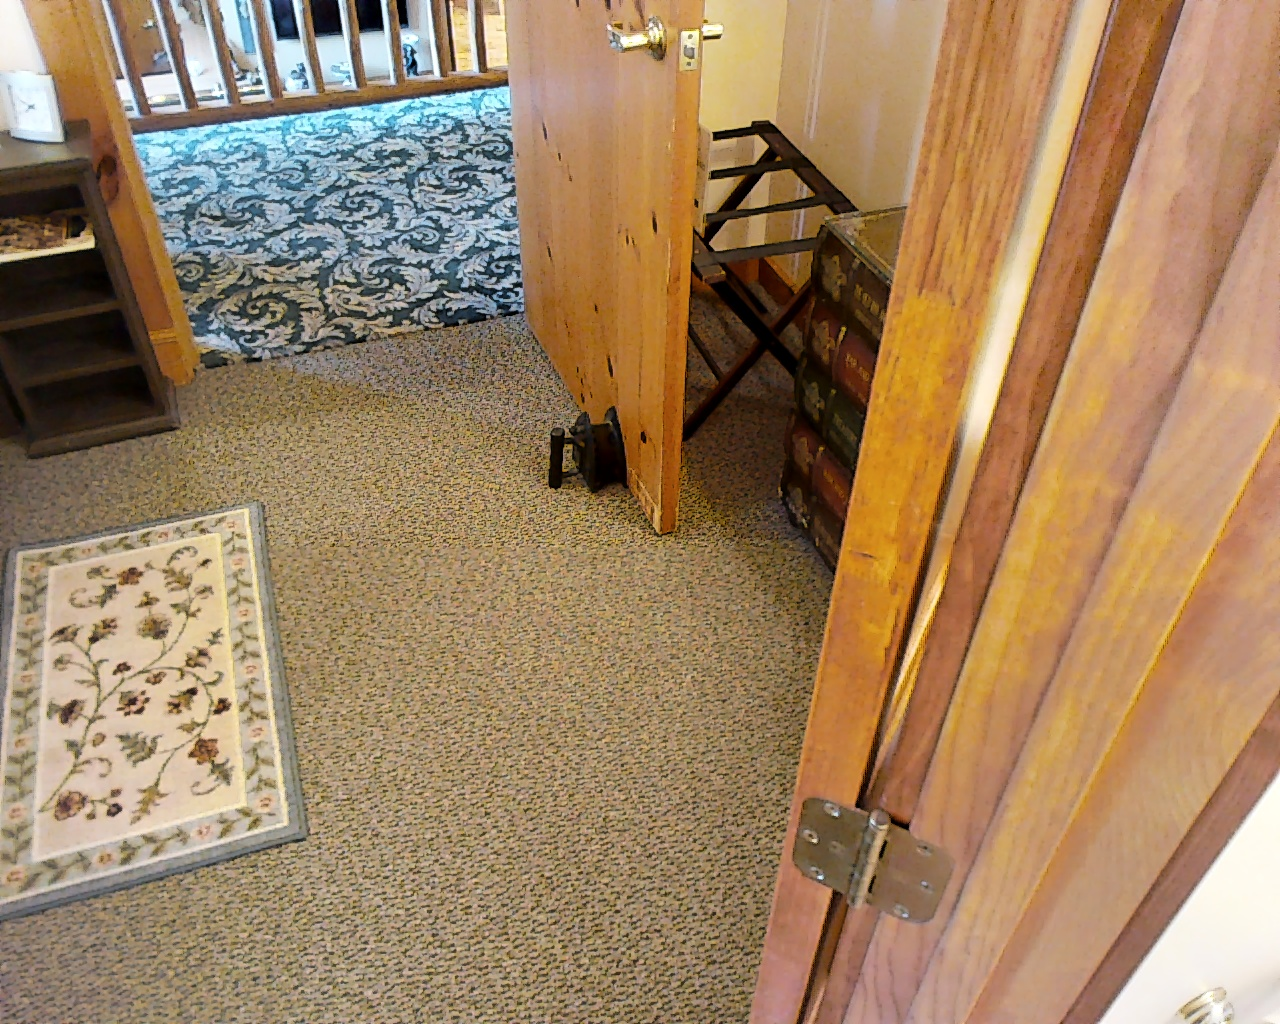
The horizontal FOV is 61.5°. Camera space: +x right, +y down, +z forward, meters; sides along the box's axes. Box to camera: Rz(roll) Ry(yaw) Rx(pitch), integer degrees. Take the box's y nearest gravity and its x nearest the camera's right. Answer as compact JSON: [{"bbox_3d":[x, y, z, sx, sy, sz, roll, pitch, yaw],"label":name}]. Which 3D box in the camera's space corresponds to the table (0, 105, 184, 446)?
[{"bbox_3d":[-1.280,-0.500,2.340,0.370,0.640,0.240,-13,45,-14],"label":"table"}]

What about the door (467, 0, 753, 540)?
[{"bbox_3d":[-0.110,-1.030,1.940,0.150,2.050,1.030,-16,46,-18],"label":"door"}]
